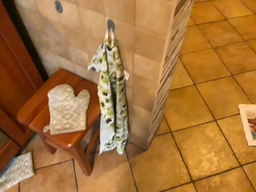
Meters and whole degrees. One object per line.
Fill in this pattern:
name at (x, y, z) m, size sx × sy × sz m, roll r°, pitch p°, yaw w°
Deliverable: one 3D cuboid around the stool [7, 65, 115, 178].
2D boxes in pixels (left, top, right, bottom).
stool at (-0.290, 0.150, 1.090) m, size 0.330 × 0.450 × 0.290 m, roll 25°, pitch 59°, yaw 15°
